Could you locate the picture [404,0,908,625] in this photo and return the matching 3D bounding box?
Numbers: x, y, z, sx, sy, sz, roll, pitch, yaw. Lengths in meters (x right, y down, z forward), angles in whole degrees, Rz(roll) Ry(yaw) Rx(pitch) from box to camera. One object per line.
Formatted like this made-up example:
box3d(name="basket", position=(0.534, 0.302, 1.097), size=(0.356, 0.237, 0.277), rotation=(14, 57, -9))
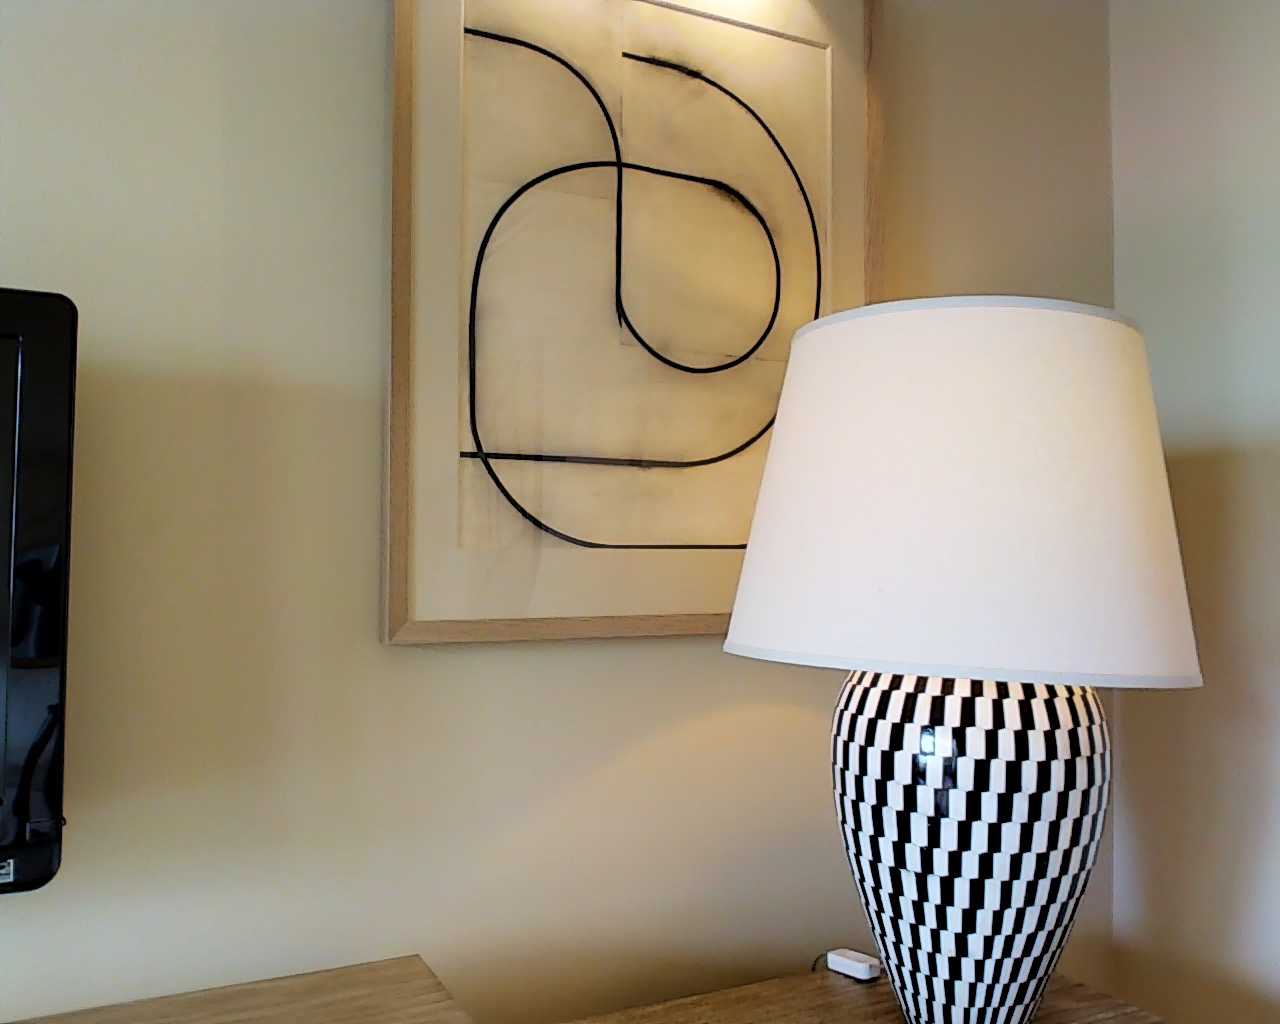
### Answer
box3d(name="picture", position=(0.060, -0.380, 1.570), size=(0.780, 1.060, 0.080), rotation=(1, -2, -27))
